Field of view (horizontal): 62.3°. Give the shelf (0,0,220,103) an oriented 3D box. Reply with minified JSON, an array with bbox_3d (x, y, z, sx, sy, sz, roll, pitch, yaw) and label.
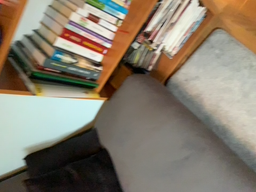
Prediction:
[{"bbox_3d":[-0.460,-0.350,0.430,0.270,2.310,0.660,47,115,30],"label":"shelf"}]
